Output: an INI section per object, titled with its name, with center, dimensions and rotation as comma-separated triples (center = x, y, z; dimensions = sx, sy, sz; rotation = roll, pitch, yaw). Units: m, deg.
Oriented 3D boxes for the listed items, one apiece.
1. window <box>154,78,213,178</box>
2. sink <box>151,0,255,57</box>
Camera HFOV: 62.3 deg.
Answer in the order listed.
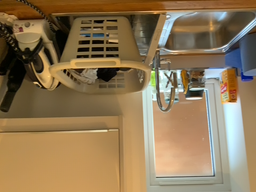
[window]
center = 0.430, 0.240, 1.690
dimensions = 0.420, 0.770, 0.040
rotation = -1, 171, 1
[sink]
center = 0.390, -0.400, 1.150
dimensions = 0.470, 0.190, 0.540
rotation = -1, 171, 0
